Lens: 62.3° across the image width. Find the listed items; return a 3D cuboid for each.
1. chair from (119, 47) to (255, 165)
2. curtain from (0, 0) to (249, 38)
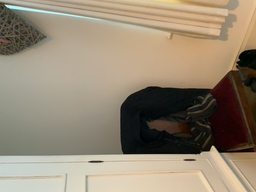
[{"bbox_3d":[0.500,0.120,1.390,0.550,1.020,0.530,115,154,-60],"label":"chair"},{"bbox_3d":[-0.260,-0.580,1.190,0.140,2.000,0.260,-111,27,-61],"label":"curtain"}]
